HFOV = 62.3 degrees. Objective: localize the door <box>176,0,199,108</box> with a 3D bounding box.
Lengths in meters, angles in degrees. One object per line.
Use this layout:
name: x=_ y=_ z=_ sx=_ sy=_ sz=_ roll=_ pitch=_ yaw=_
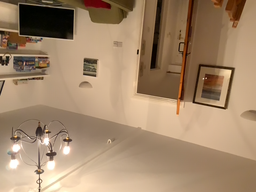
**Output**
door: x=0.760 y=-0.800 z=2.620 sx=0.080 sy=1.780 sz=0.740 roll=8 pitch=-167 yaw=12
